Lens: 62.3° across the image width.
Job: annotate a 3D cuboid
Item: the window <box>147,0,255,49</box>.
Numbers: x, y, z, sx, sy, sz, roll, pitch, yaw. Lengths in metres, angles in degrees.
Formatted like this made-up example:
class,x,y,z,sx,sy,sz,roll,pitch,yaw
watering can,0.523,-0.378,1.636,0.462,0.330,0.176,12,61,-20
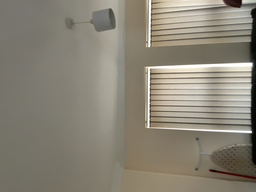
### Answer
class,x,y,z,sx,sy,sz,roll,pitch,yaw
window,0.980,-1.060,2.780,0.030,1.450,0.810,0,-90,-76

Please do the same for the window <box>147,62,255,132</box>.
class,x,y,z,sx,sy,sz,roll,pitch,yaw
window,0.940,0.010,2.780,0.050,1.390,0.860,-3,-87,-76
